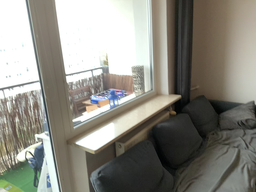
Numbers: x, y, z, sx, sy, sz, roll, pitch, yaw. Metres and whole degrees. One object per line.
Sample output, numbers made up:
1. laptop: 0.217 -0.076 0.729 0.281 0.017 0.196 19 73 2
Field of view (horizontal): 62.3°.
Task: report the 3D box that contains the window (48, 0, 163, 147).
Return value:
1. window: -0.050 -0.440 2.110 0.160 1.350 1.470 7 19 34
